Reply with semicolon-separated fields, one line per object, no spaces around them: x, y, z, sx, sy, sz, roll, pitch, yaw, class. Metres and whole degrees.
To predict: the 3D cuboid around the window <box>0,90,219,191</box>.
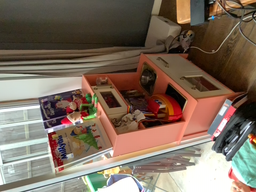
-0.350;0.390;1.160;1.340;1.460;0.060;49;137;47;window

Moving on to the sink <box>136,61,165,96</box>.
0.180;-0.150;1.780;0.210;0.100;0.220;52;139;45;sink

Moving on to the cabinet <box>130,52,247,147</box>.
0.430;-0.030;1.750;0.720;0.490;0.400;52;139;45;cabinet
